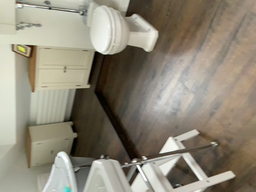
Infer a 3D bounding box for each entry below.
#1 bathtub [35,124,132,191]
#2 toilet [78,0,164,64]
[{"bbox_3d":[-0.720,1.310,2.740,0.850,0.720,1.730,57,137,39],"label":"bathtub"},{"bbox_3d":[-0.100,-0.640,1.930,0.670,0.480,0.350,59,138,37],"label":"toilet"}]
